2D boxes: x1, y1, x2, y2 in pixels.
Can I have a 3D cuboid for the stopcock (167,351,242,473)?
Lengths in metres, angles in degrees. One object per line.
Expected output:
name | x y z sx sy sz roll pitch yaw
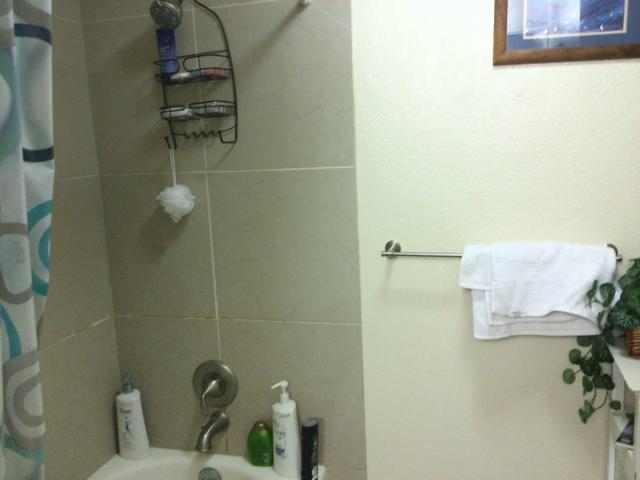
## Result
stopcock | -0.390 0.580 1.980 0.170 0.350 0.170 0 7 17

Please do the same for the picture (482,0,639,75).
picture | 0.640 -0.640 1.500 0.420 0.370 0.050 0 7 17
